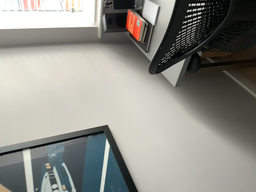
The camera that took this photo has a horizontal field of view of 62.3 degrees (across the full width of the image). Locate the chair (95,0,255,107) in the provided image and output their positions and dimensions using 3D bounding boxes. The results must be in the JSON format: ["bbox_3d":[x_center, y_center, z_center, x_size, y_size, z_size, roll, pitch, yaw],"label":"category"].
[{"bbox_3d":[0.470,-0.530,1.030,0.760,1.010,0.660,60,149,38],"label":"chair"}]

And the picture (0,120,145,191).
[{"bbox_3d":[-0.320,0.350,0.700,0.560,0.760,0.010,-123,33,-42],"label":"picture"}]
